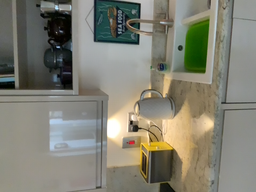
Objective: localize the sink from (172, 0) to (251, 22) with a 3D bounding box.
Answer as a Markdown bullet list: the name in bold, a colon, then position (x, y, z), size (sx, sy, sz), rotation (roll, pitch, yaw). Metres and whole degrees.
- **sink**: position (0.440, -0.580, 1.180), size (0.440, 0.190, 0.230), rotation (-153, 64, -72)

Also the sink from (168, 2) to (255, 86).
- **sink**: position (0.450, -0.270, 1.230), size (0.440, 0.230, 0.380), rotation (-153, 64, -72)
